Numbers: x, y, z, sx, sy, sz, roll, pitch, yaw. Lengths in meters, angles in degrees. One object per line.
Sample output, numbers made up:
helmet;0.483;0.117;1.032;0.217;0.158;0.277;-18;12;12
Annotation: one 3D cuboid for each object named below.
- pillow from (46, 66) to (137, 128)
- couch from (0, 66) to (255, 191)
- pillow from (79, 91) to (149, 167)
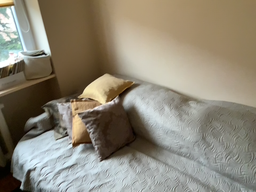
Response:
pillow;-0.300;-0.030;1.900;0.420;0.210;0.670;19;35;38
couch;0.120;0.480;1.520;2.220;0.700;1.200;19;36;38
pillow;-0.090;0.230;1.640;0.300;0.350;0.410;21;37;40
